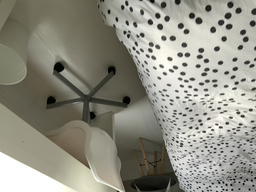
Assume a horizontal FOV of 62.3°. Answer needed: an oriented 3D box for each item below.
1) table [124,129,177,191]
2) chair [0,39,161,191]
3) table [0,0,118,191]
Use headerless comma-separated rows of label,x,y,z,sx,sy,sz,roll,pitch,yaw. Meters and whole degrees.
table,0.240,0.700,2.270,0.390,0.420,0.510,-16,139,13
chair,-0.300,0.260,1.370,0.660,0.790,0.650,-29,135,26
table,-0.520,0.140,1.190,0.490,0.790,1.210,-16,140,12
